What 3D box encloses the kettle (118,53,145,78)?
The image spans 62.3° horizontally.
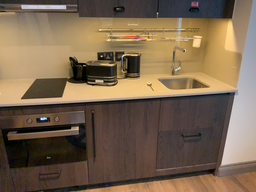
[{"bbox_3d":[0.030,-0.300,2.070,0.230,0.220,0.150,-1,20,-10],"label":"kettle"}]

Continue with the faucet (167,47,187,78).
[{"bbox_3d":[0.510,-0.350,2.220,0.140,0.300,0.100,-2,21,-11],"label":"faucet"}]
